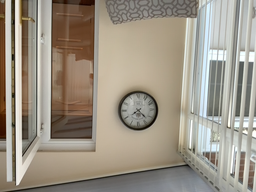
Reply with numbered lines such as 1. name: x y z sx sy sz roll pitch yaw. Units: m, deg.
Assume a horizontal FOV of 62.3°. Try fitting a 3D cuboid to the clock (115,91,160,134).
1. clock: 0.090 0.160 2.120 0.420 0.410 0.110 2 -175 -8
